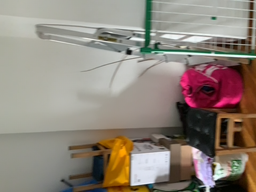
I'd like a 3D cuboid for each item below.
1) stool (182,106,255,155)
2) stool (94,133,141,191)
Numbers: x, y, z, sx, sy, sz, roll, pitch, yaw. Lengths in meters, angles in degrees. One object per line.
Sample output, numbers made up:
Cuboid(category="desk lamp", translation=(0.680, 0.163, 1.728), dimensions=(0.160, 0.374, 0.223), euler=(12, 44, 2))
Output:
Cuboid(category="stool", translation=(0.760, 0.260, 1.750), dimensions=(0.330, 0.490, 0.310), euler=(-162, 73, -73))
Cuboid(category="stool", translation=(-0.120, 0.590, 1.970), dimensions=(0.440, 0.340, 0.390), euler=(-169, 80, -74))
